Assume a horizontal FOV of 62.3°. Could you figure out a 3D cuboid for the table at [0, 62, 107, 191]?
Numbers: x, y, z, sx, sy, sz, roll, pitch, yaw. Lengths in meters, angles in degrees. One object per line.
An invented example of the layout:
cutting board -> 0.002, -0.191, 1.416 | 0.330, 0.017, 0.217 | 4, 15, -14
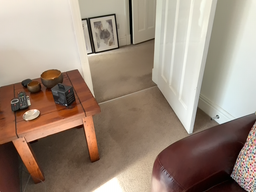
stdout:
table -> -0.600, 0.180, 1.660 | 0.600, 0.530, 0.690 | -18, 39, -20
